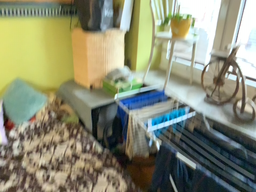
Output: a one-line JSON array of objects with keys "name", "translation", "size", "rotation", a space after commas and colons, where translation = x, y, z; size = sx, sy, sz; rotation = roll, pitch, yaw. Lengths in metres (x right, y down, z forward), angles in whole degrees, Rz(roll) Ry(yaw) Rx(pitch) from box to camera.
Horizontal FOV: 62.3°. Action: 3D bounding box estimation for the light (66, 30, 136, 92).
[{"name": "light", "translation": [-0.290, -0.420, 2.350], "size": [0.620, 0.540, 0.400], "rotation": [-13, 28, -33]}]
